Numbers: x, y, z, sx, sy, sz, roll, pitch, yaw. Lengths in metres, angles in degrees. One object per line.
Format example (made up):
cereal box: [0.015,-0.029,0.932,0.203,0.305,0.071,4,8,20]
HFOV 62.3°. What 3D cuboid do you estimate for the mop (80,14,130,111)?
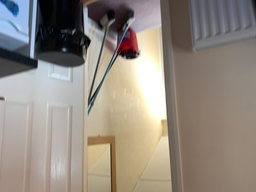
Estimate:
mop: [-0.240,-0.340,2.300,0.290,0.950,0.230,-8,-175,25]
